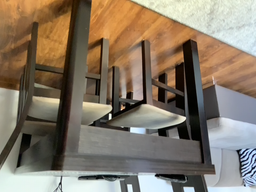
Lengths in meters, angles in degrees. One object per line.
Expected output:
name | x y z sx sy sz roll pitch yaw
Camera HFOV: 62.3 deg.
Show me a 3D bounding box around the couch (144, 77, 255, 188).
couch | 0.820 0.480 2.250 0.850 0.860 1.010 13 156 -28
